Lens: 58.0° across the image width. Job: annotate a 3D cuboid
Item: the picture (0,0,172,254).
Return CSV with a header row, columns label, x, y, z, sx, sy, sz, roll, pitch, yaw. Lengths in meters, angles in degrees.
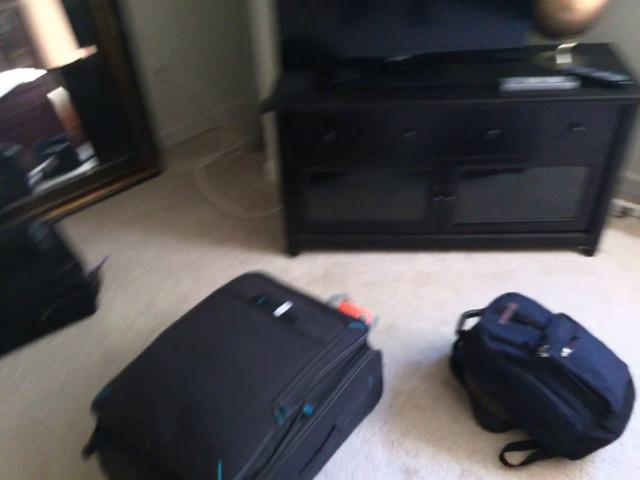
label,x,y,z,sx,sy,sz,roll,pitch,yaw
picture,-1.140,-0.540,2.160,0.960,1.080,0.180,-25,33,-33
